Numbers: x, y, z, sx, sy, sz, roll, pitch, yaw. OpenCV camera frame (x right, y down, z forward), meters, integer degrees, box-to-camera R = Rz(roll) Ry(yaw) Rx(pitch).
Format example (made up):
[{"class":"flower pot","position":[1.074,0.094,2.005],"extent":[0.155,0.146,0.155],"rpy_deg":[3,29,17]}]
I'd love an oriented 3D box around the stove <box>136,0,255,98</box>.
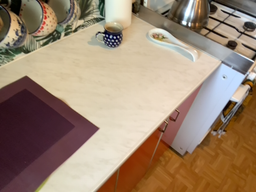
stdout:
[{"class":"stove","position":[0.430,-0.340,1.140],"extent":[0.550,0.190,0.520],"rpy_deg":[38,54,24]}]
